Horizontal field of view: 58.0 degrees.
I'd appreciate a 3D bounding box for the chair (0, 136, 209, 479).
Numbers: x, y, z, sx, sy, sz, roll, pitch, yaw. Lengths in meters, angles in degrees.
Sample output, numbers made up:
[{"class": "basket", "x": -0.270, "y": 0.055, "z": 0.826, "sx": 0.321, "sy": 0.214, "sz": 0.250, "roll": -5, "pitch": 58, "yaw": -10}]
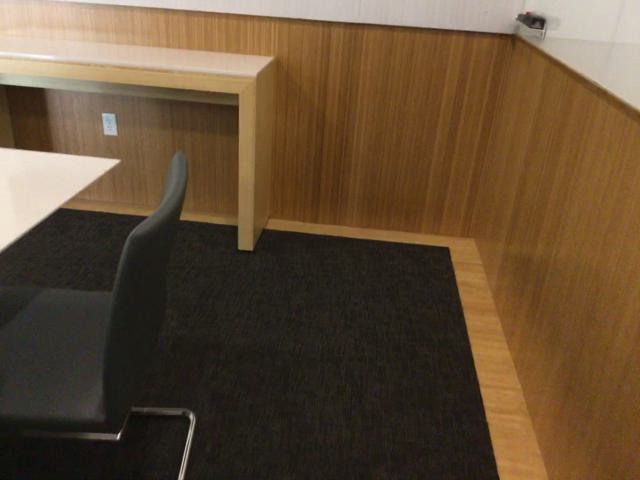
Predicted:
[{"class": "chair", "x": -0.610, "y": 0.230, "z": 1.310, "sx": 0.620, "sy": 0.760, "sz": 0.560, "roll": 5, "pitch": 26, "yaw": -6}]
